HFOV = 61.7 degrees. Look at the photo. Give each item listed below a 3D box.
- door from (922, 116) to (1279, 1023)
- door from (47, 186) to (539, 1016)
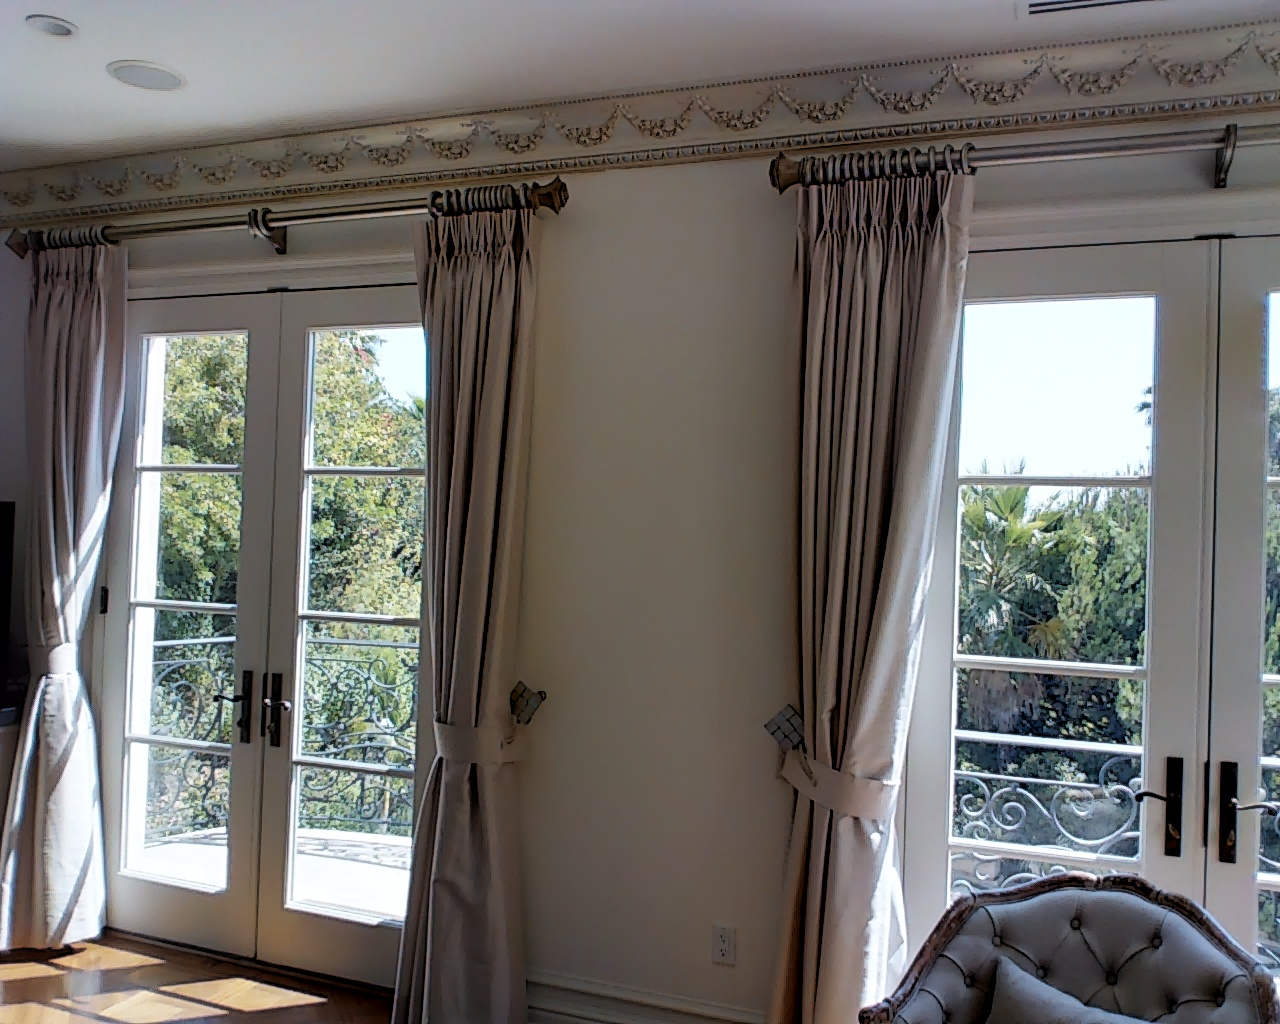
[{"bbox_3d":[1.540,0.350,2.730,1.520,2.671,0.160,2,-1,20],"label":"door"},{"bbox_3d":[-1.270,0.250,3.780,1.830,2.621,0.170,2,-1,20],"label":"door"}]
